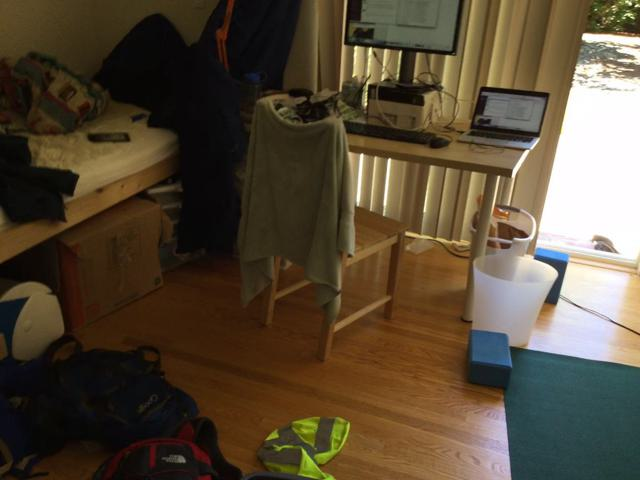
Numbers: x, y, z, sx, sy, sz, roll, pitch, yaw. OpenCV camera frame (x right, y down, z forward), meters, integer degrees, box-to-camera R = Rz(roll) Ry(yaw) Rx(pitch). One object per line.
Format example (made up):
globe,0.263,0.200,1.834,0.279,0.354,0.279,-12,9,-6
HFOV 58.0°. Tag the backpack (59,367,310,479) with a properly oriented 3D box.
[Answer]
backpack,-0.380,0.680,1.600,0.490,0.190,0.650,13,27,16

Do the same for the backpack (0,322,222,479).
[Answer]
backpack,-0.670,0.510,1.910,0.560,0.160,0.400,13,27,17

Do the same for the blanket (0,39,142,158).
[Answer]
blanket,-1.380,-0.690,2.650,0.710,0.300,0.830,13,27,17
